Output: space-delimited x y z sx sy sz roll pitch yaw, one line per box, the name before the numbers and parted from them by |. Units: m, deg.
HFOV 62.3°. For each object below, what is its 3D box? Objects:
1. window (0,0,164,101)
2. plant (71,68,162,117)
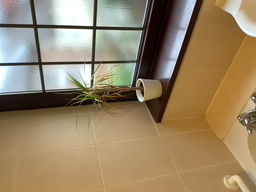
window | -0.300 -0.260 1.200 0.040 0.940 0.640 -114 26 -49
plant | -0.080 -0.030 1.280 0.170 0.500 0.210 -113 26 -47
